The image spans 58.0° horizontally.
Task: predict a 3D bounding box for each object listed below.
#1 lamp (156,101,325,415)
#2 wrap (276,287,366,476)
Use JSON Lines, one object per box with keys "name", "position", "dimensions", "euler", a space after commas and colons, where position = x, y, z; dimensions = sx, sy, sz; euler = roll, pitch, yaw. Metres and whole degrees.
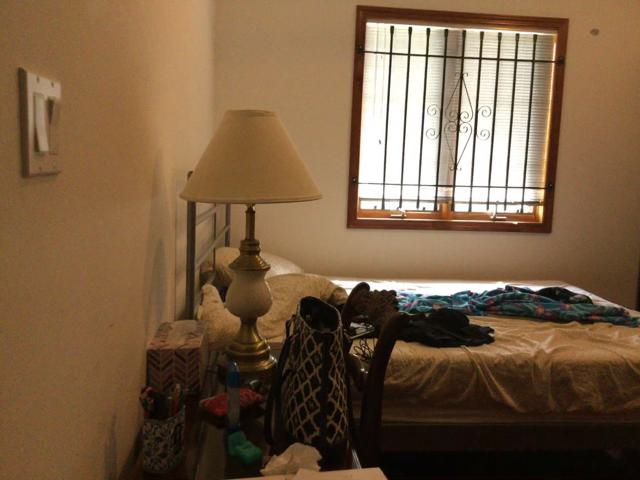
{"name": "lamp", "position": [-0.190, 0.030, 1.500], "dimensions": [0.370, 0.720, 0.360], "euler": [0, 8, -4]}
{"name": "wrap", "position": [-0.010, 0.270, 1.200], "dimensions": [0.160, 0.280, 0.320], "euler": [0, 7, -4]}
